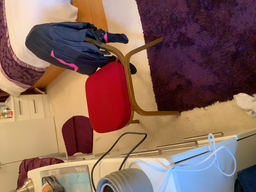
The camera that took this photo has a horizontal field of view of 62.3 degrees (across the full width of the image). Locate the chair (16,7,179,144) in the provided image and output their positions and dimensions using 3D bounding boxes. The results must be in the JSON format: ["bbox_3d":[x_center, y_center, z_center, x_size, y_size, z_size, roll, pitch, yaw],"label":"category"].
[{"bbox_3d":[-0.170,-0.080,1.350,0.460,0.830,0.580,-20,78,48],"label":"chair"}]
